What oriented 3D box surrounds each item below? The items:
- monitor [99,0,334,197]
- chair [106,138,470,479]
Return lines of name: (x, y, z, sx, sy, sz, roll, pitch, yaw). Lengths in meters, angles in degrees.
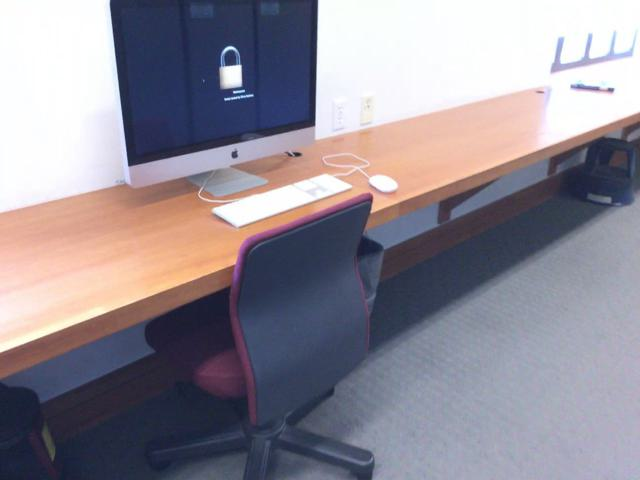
monitor: (-0.250, -0.410, 1.590, 0.080, 0.490, 0.700, 23, 26, 38)
chair: (-0.120, 0.230, 1.660, 0.680, 0.880, 0.670, 23, 26, 38)
